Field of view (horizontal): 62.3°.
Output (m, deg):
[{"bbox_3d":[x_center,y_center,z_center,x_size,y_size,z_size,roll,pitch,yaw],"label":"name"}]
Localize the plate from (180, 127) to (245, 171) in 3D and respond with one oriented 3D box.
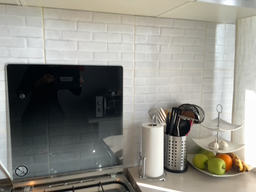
[{"bbox_3d":[0.440,0.270,1.120,0.260,0.150,0.170,-2,8,-18],"label":"plate"}]
